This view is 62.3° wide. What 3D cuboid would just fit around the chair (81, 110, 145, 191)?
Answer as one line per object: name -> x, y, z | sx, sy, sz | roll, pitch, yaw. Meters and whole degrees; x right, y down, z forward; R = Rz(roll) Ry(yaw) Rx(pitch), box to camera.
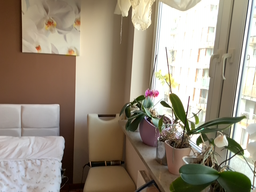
chair -> -0.200, 0.700, 2.110 | 0.460, 0.960, 0.700 | 2, 10, -15
